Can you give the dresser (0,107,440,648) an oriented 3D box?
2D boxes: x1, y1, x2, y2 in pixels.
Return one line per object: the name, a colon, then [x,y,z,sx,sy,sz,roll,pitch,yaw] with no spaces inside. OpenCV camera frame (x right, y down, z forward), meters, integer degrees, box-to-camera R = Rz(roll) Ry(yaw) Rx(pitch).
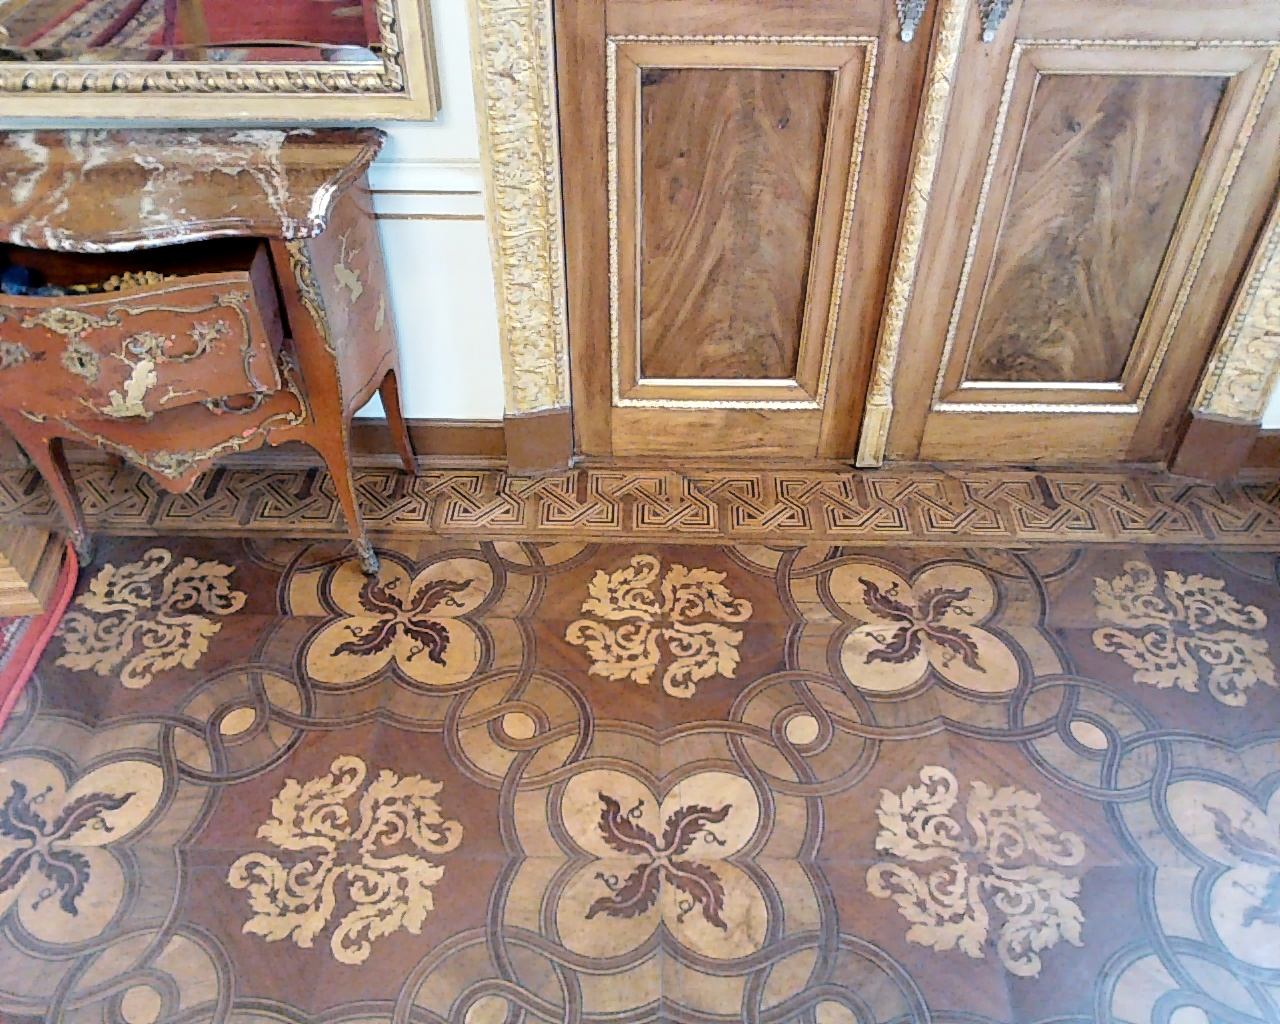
dresser: [-0.900,-0.260,2.180,0.780,0.870,0.640,1,42,1]
